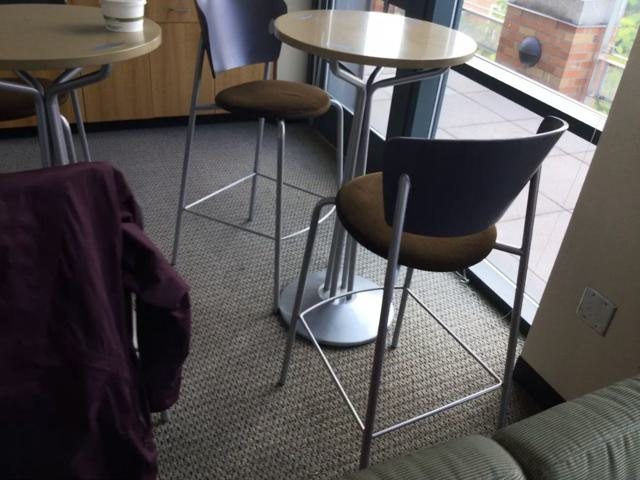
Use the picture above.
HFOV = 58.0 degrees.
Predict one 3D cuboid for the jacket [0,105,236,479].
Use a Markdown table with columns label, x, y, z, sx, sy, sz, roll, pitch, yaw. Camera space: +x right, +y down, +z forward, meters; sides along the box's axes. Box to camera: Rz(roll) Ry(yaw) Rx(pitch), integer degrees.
| label | x | y | z | sx | sy | sz | roll | pitch | yaw |
| --- | --- | --- | --- | --- | --- | --- | --- | --- | --- |
| jacket | -0.530 | 0.280 | 1.070 | 0.630 | 0.960 | 0.370 | -7 | 29 | -25 |
